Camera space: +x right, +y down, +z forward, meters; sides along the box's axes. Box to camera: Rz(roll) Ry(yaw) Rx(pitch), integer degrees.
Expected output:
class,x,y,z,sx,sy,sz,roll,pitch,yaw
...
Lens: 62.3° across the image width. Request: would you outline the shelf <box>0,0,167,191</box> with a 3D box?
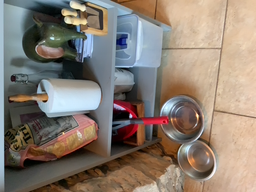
class,x,y,z,sx,sy,sz,roll,pitch,yaw
shelf,-0.630,-0.020,0.540,0.370,2.170,0.740,8,98,39
